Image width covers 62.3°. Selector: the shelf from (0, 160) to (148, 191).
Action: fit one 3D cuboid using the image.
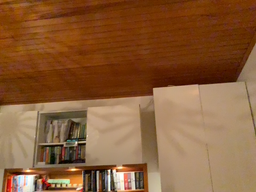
[{"bbox_3d":[-0.670,1.350,2.590,1.840,0.990,0.200,-4,-16,5],"label":"shelf"}]
